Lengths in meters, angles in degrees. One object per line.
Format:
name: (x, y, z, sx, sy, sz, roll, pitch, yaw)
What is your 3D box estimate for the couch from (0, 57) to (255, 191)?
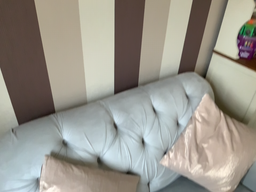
couch: (0.150, 0.500, 1.120, 1.450, 0.830, 1.000, -18, 40, -28)
